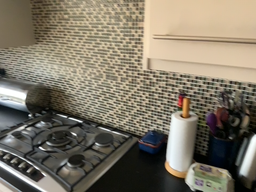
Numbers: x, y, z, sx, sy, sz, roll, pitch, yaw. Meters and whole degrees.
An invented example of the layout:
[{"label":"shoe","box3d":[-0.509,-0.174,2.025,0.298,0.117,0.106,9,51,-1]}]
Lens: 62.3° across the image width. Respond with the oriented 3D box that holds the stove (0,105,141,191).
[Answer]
[{"label":"stove","box3d":[-0.370,0.220,1.080,0.700,0.040,0.530,13,23,29]}]
